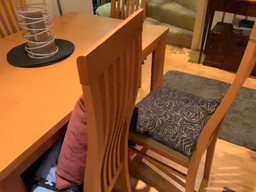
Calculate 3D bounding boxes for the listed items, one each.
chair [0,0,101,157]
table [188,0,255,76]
[{"bbox_3d":[-0.550,-0.170,1.400,0.540,1.090,0.340,18,41,24],"label":"chair"},{"bbox_3d":[1.210,-0.710,2.270,0.910,0.760,0.450,18,41,24],"label":"table"}]
